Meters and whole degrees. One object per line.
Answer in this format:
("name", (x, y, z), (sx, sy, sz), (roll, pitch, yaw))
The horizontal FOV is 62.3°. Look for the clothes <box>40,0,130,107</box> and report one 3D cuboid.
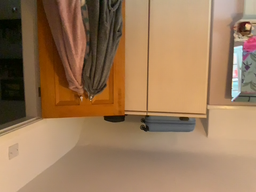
("clothes", (-0.300, -0.690, 1.520), (0.590, 1.490, 0.250), (-2, -173, -13))
